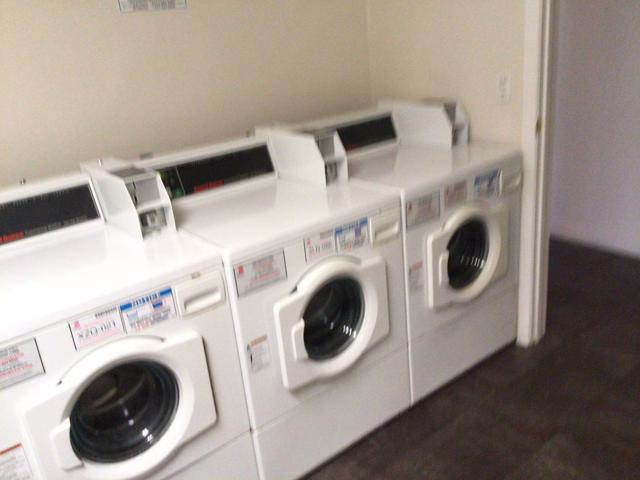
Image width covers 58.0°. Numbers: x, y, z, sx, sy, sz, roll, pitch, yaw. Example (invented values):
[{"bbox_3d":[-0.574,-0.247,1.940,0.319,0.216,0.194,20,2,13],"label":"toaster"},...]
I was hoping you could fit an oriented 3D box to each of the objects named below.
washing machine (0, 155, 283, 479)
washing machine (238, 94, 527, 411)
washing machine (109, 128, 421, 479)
[{"bbox_3d":[-0.700,0.360,1.750,0.670,1.040,0.750,-26,26,-35],"label":"washing machine"},{"bbox_3d":[0.280,-0.030,2.510,0.690,1.030,0.880,-26,25,-33],"label":"washing machine"},{"bbox_3d":[-0.190,0.180,2.150,0.650,1.020,0.760,-25,25,-31],"label":"washing machine"}]
